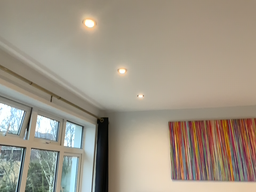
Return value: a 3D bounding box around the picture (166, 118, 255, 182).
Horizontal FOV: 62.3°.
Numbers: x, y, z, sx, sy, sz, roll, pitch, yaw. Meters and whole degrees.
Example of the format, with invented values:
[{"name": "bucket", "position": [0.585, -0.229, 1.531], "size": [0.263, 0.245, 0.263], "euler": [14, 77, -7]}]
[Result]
[{"name": "picture", "position": [1.150, 0.740, 2.960], "size": [1.190, 0.810, 0.050], "euler": [-4, -18, 14]}]
